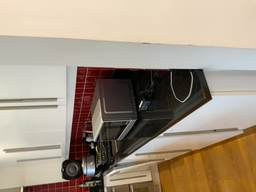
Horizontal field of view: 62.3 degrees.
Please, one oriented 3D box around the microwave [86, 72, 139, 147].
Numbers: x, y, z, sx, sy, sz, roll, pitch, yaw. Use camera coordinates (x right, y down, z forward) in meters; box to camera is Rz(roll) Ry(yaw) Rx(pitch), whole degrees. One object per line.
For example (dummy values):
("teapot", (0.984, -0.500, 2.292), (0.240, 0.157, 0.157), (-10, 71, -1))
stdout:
("microwave", (-0.150, 0.120, 1.610), (0.490, 0.270, 0.410), (123, 142, -61))
